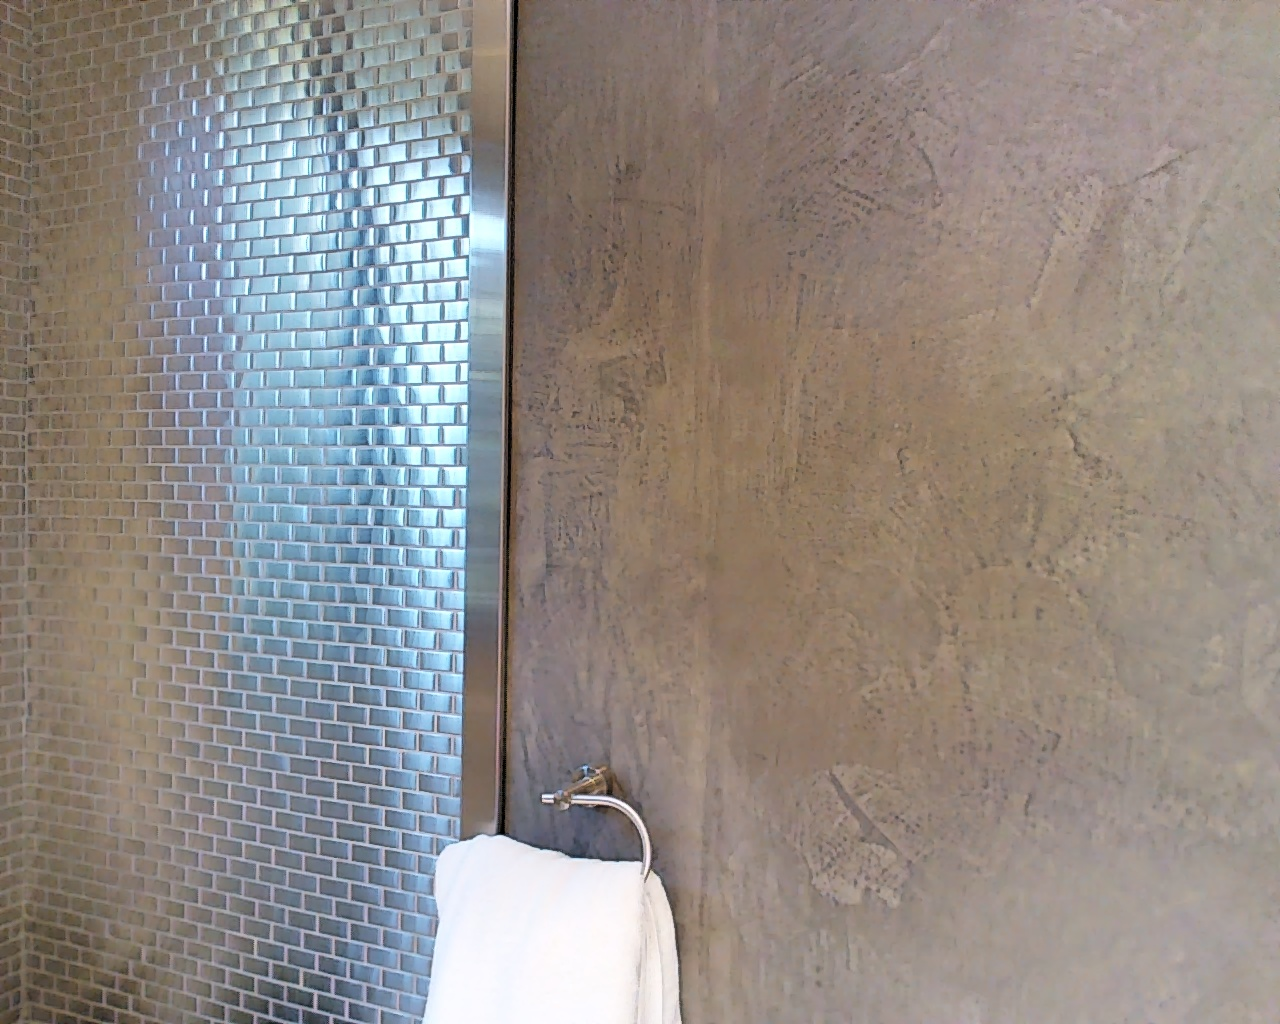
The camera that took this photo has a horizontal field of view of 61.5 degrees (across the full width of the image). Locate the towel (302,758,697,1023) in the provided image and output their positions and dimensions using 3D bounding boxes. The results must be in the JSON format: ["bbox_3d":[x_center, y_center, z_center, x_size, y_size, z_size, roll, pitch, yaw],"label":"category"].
[{"bbox_3d":[-0.150,0.620,1.160,0.370,0.630,0.200,1,0,23],"label":"towel"}]
